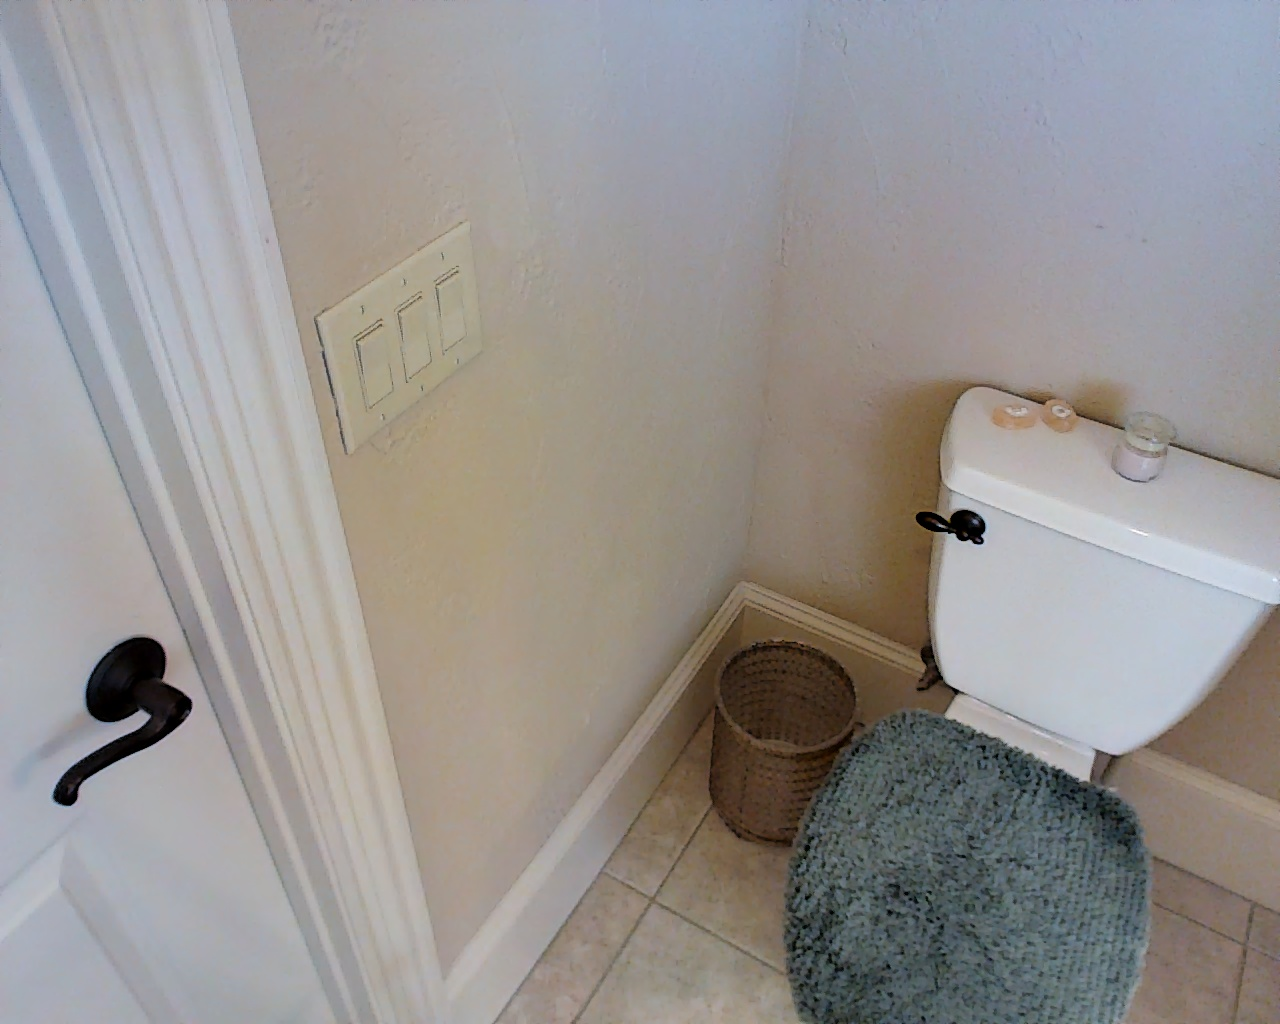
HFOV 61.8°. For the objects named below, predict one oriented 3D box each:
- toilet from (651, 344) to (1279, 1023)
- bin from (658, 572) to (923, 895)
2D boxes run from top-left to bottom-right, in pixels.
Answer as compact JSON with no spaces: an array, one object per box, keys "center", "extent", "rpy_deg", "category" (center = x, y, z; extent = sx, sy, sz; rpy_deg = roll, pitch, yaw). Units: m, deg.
[{"center":[0.440,0.410,1.350],"extent":[0.510,0.840,0.820],"rpy_deg":[22,46,22],"category":"toilet"},{"center":[0.240,0.360,1.770],"extent":[0.310,0.330,0.290],"rpy_deg":[22,46,22],"category":"bin"}]
